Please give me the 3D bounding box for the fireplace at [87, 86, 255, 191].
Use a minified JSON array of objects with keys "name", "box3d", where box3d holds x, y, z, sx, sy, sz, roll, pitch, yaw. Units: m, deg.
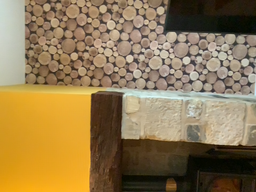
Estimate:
[{"name":"fireplace","box3d":[0.570,0.890,1.880,0.850,1.700,1.840,-69,-18,-84]}]
